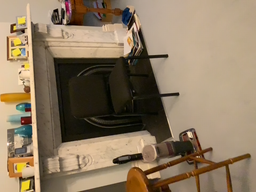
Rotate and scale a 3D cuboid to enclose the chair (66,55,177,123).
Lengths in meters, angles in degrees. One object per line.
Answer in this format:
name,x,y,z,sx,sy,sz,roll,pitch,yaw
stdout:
chair,-0.090,-0.070,2.030,0.480,0.890,0.440,134,127,-62
